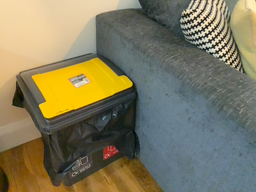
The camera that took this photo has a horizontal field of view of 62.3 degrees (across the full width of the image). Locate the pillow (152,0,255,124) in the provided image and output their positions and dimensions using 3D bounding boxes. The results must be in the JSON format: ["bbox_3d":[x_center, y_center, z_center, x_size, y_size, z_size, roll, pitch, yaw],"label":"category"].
[{"bbox_3d":[0.370,-0.230,0.920,0.230,0.500,0.520,36,21,-1],"label":"pillow"}]
